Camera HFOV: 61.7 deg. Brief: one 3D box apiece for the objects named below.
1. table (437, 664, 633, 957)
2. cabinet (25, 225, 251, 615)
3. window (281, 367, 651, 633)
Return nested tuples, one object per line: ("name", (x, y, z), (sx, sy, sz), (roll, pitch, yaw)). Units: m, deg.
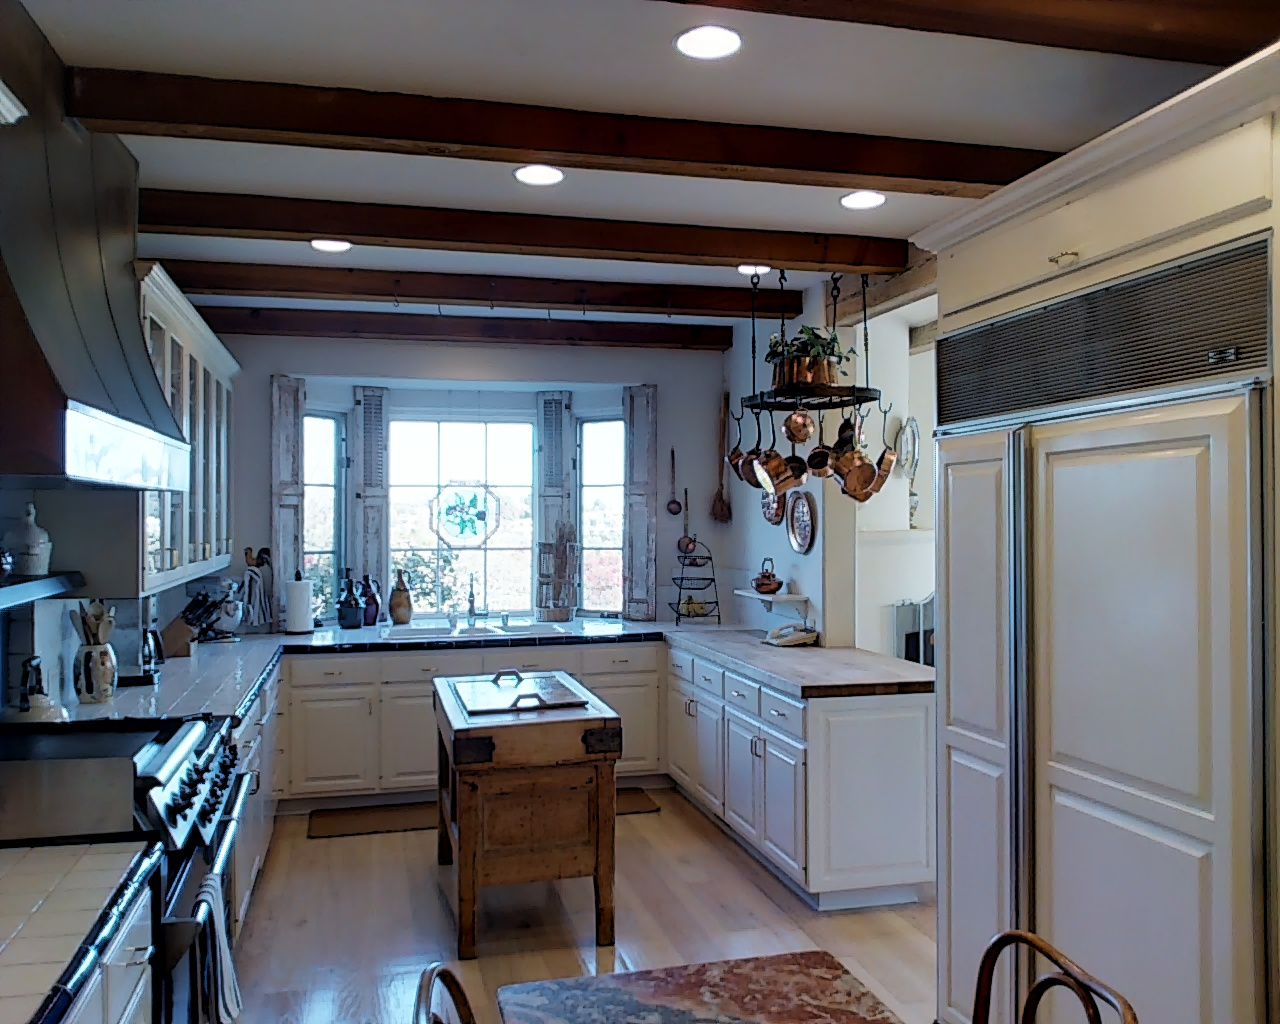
("table", (-0.490, 1.160, 4.500), (0.650, 0.850, 1.250), (0, 0, -14))
("cabinet", (-2.149, -0.300, 4.900), (0.400, 1.280, 2.750), (0, 0, -14))
("window", (-1.090, -0.070, 6.820), (2.209, 1.540, 0.730), (0, 0, -14))
